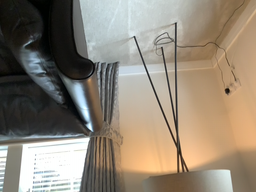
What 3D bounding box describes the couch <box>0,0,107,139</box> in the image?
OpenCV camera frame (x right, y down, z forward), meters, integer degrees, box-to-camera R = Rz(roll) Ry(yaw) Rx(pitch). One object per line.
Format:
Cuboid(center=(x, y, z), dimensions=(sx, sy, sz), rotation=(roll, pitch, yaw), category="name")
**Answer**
Cuboid(center=(-1.130, -0.240, 1.320), dimensions=(1.890, 0.860, 0.900), rotation=(-4, 157, -4), category="couch")
